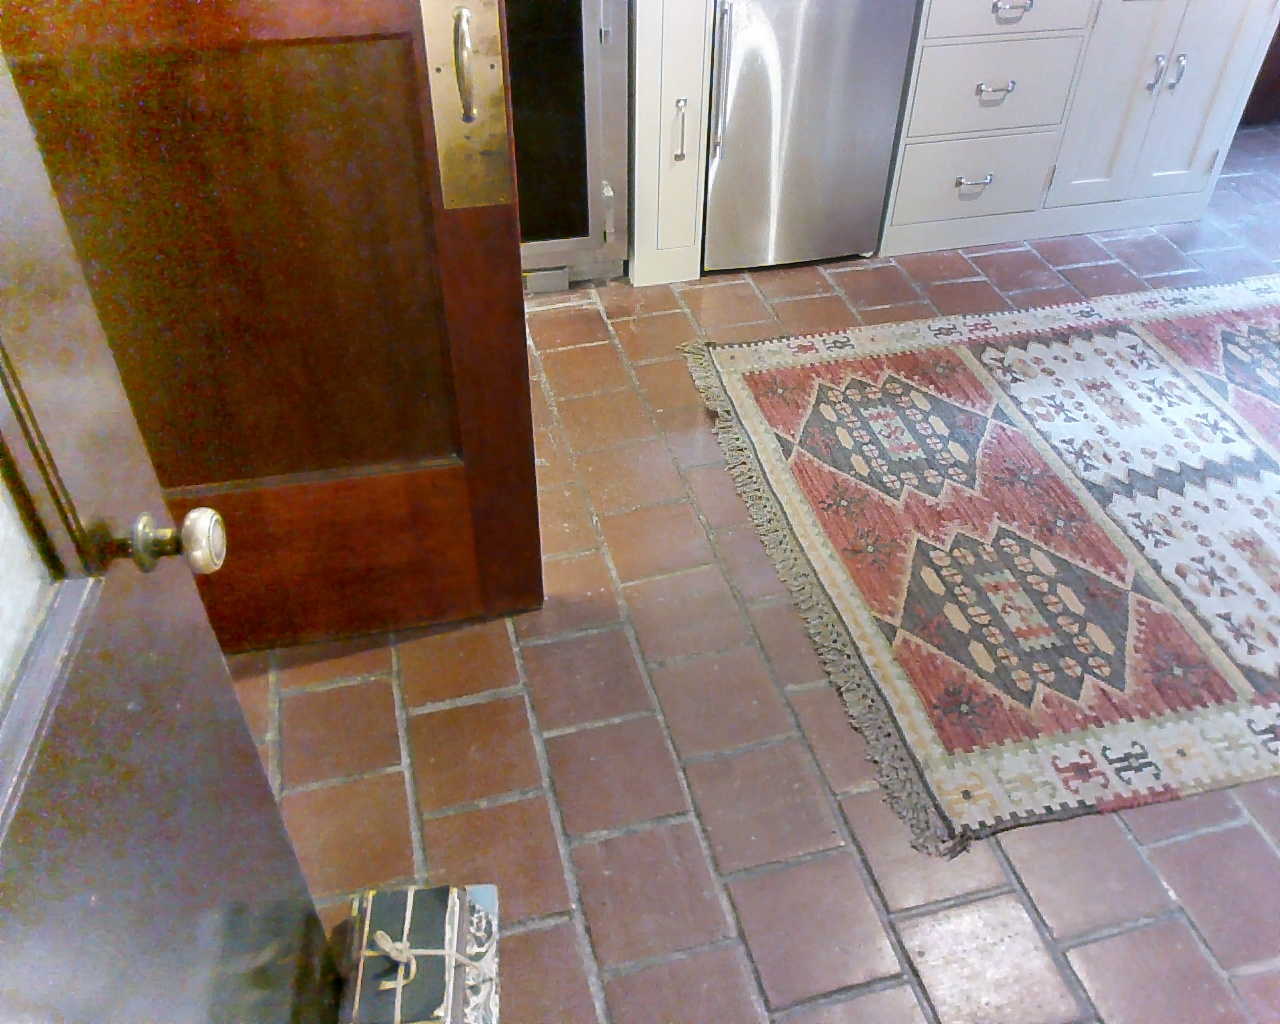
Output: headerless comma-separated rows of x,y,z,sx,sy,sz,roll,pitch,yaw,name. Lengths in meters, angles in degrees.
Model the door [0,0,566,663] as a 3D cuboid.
-0.560,-0.660,1.440,0.820,2.280,0.150,-7,42,-8,door
